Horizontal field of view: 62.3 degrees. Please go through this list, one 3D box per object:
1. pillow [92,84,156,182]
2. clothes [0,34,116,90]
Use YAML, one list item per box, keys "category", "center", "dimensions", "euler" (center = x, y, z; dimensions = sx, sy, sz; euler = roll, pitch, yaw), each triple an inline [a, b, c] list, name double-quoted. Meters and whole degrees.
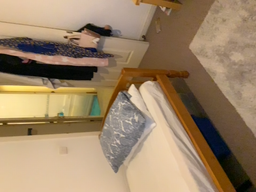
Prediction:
- category: "pillow"
  center: [-0.090, 0.360, 1.930]
  dimensions: [0.440, 0.250, 0.840]
  euler: [-112, 32, -41]
- category: "clothes"
  center: [-0.850, -0.340, 2.400]
  dimensions: [0.580, 1.320, 0.160]
  euler: [114, 148, -42]
